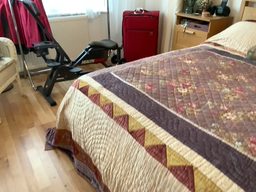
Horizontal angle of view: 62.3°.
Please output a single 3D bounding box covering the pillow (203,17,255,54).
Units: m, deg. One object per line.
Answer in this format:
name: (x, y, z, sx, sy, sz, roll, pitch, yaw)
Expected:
pillow: (1.050, -0.580, 1.970, 0.350, 0.200, 0.540, -20, 35, -33)
